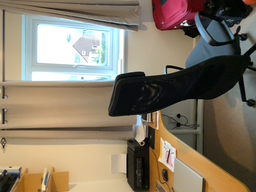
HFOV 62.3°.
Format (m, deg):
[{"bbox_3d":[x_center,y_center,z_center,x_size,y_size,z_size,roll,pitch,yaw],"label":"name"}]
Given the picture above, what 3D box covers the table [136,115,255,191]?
[{"bbox_3d":[0.660,0.630,1.820,1.610,0.730,0.670,-164,75,-75],"label":"table"}]
